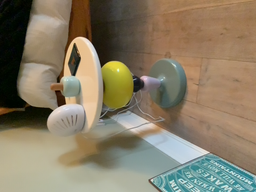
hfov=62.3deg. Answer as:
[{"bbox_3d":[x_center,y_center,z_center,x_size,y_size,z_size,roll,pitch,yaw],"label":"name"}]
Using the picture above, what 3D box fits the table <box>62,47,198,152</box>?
[{"bbox_3d":[0.000,-0.040,1.130,0.400,0.570,0.410,21,112,54],"label":"table"}]
